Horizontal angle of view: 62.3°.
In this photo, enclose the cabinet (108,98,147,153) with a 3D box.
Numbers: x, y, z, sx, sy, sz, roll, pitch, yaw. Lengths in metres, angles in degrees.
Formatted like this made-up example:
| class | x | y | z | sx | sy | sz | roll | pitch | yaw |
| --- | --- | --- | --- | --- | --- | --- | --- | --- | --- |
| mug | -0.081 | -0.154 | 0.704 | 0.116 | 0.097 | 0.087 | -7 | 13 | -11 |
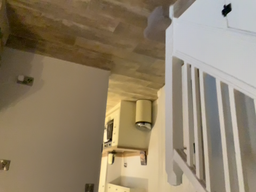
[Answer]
| class | x | y | z | sx | sy | sz | roll | pitch | yaw |
| --- | --- | --- | --- | --- | --- | --- | --- | --- | --- |
| cabinet | -0.010 | 0.630 | 4.350 | 0.580 | 0.960 | 0.580 | 11 | 160 | -20 |
